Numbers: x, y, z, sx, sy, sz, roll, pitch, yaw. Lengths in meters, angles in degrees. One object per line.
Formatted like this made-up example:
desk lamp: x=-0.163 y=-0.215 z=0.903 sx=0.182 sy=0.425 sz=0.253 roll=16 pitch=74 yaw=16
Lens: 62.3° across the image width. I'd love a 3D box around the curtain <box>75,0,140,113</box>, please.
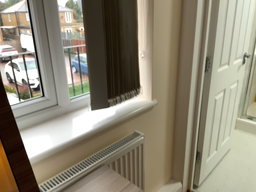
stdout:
curtain: x=-0.100 y=-0.550 z=1.000 sx=0.200 sy=1.240 sz=0.240 roll=18 pitch=28 yaw=42
